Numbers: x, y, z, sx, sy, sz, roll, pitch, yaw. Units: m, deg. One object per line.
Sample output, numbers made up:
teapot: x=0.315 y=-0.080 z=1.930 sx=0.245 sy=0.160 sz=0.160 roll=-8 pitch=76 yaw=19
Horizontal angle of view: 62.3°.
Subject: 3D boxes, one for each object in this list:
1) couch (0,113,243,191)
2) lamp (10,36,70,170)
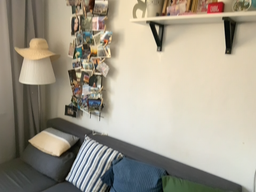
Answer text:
couch: x=-0.390 y=0.800 z=1.710 sx=2.120 sy=0.760 sz=0.820 roll=12 pitch=13 yaw=36
lamp: x=-0.940 y=0.050 z=2.310 sx=0.370 sy=1.320 sz=0.450 roll=13 pitch=14 yaw=39
